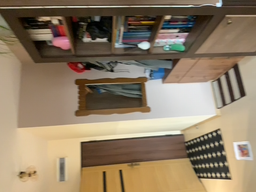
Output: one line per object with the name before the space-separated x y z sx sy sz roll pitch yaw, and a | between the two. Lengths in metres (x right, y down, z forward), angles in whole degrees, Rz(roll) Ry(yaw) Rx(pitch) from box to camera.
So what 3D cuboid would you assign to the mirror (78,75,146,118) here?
mirror | -0.220 0.000 2.890 0.120 0.880 0.530 112 154 -73
